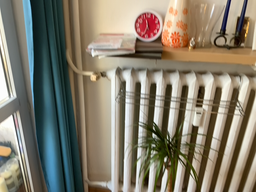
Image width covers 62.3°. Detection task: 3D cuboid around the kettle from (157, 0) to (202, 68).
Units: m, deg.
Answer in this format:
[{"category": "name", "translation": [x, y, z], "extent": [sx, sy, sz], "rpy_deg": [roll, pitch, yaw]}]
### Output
[{"category": "kettle", "translation": [0.240, -0.330, 1.050], "extent": [0.160, 0.330, 0.170], "rpy_deg": [6, 24, 5]}]
